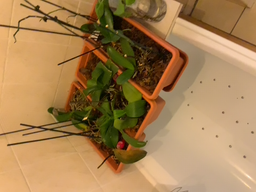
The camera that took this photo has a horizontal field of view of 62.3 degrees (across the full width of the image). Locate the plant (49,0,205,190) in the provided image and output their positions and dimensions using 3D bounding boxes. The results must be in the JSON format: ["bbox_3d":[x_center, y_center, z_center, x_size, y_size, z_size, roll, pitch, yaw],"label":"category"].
[{"bbox_3d":[-0.070,-0.020,0.950,0.510,0.250,0.590,42,121,33],"label":"plant"}]
